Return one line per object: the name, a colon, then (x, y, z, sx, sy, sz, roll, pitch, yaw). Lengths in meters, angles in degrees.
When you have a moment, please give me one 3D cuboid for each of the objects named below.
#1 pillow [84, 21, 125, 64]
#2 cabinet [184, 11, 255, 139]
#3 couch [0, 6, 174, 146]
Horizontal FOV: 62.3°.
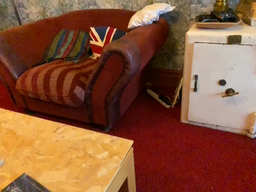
pillow: (-0.220, -0.500, 1.970, 0.310, 0.340, 0.100, 14, 0, 27)
cabinet: (0.810, -0.210, 1.630, 0.570, 0.740, 0.650, 10, 32, 23)
couch: (-0.420, -0.340, 1.990, 1.430, 0.780, 1.060, 9, 32, 22)
